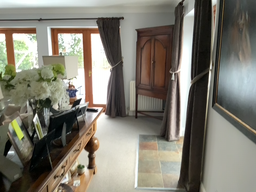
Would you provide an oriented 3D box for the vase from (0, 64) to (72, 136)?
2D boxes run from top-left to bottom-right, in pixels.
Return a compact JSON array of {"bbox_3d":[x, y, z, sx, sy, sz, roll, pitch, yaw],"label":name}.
[{"bbox_3d":[-0.800,0.000,1.780,0.480,0.490,0.460,2,12,7],"label":"vase"}]

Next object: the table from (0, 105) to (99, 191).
[{"bbox_3d":[-0.670,0.670,1.960,0.490,0.750,1.730,1,12,2],"label":"table"}]

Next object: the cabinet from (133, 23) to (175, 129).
[{"bbox_3d":[0.450,-0.390,4.200,0.680,1.900,0.820,1,12,0],"label":"cabinet"}]
